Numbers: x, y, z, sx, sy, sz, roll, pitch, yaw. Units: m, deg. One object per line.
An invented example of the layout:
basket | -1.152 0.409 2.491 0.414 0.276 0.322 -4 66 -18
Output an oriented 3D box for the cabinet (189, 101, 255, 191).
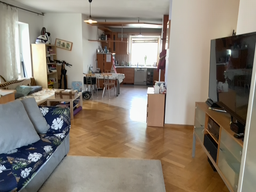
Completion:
cabinet | 1.100 0.640 2.250 0.500 0.830 1.540 2 11 3

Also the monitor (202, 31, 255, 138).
monitor | 1.030 -0.200 2.190 0.060 0.810 1.290 6 12 4

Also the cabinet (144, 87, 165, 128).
cabinet | 0.540 0.220 4.530 0.340 0.690 0.730 2 11 1

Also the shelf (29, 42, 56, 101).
shelf | -2.540 -0.740 6.340 0.430 1.660 0.630 3 11 4
